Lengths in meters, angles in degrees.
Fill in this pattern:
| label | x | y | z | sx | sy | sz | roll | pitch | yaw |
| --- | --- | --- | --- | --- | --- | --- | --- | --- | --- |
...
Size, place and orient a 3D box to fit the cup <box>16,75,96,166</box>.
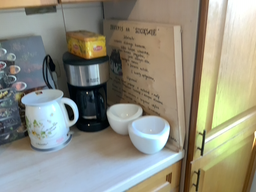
| label | x | y | z | sx | sy | sz | roll | pitch | yaw |
| --- | --- | --- | --- | --- | --- | --- | --- | --- | --- |
| cup | -0.290 | 0.080 | 0.860 | 0.230 | 0.240 | 0.220 | -15 | 28 | -26 |
